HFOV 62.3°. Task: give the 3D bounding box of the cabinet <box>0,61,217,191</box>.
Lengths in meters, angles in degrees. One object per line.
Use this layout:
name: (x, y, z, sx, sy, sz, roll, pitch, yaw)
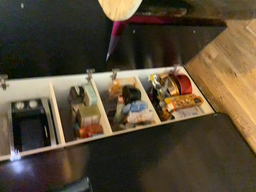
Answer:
cabinet: (-0.390, 0.190, 1.440, 0.520, 1.960, 0.520, 65, 150, 30)
